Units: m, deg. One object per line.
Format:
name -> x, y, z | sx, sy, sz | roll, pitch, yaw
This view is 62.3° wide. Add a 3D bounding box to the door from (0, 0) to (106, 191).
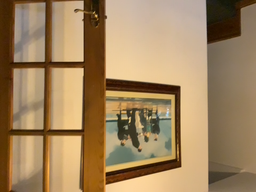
door -> -0.420, -0.310, 1.070 | 0.600, 2.080, 0.090 | 0, 179, 5
